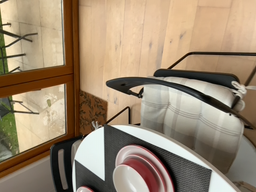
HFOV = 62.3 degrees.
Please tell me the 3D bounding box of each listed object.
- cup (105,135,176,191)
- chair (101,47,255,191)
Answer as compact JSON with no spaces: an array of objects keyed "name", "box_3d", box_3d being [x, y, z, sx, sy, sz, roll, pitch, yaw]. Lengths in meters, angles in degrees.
[{"name":"cup","box_3d":[0.030,0.320,0.770,0.230,0.080,0.270,22,118,35]},{"name":"chair","box_3d":[0.310,0.050,1.010,0.460,0.740,0.470,15,114,37]}]
